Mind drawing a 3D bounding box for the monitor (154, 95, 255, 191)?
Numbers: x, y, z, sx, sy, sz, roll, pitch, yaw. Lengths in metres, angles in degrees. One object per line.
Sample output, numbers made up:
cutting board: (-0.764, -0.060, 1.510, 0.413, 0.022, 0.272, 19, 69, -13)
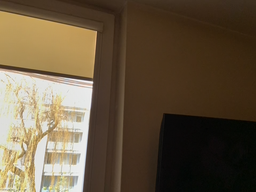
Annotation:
monitor: (0.510, 0.370, 0.950, 0.800, 0.510, 0.030, 21, -21, -12)
